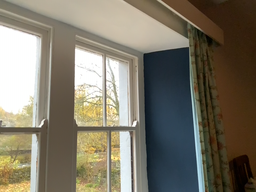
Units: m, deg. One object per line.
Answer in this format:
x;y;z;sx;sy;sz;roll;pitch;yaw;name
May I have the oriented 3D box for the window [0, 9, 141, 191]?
-0.410;0.160;1.240;0.100;1.120;1.310;-12;-14;43;window
